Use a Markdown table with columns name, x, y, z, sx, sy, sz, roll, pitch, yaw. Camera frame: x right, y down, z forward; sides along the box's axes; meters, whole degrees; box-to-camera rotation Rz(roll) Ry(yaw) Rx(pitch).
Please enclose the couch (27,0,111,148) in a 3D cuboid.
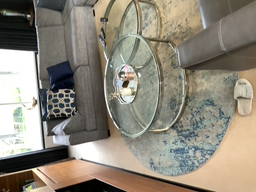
| name | x | y | z | sx | sy | sz | roll | pitch | yaw |
| --- | --- | --- | --- | --- | --- | --- | --- | --- | --- |
| couch | -1.130 | -0.860 | 3.640 | 1.170 | 0.790 | 3.270 | -18 | 78 | 57 |
